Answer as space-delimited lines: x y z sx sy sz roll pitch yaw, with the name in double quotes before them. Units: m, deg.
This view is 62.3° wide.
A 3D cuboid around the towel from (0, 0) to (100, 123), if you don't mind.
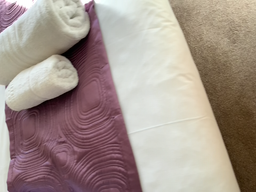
"towel" -0.290 -0.130 0.590 0.370 0.130 0.310 -22 71 25
